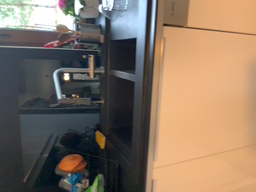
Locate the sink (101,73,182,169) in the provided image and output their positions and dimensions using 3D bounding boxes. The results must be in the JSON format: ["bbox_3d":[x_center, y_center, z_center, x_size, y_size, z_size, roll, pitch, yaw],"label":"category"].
[{"bbox_3d":[0.040,0.090,1.140,0.410,0.240,0.380,26,116,61],"label":"sink"}]

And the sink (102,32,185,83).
[{"bbox_3d":[0.050,-0.200,1.080,0.410,0.240,0.200,26,116,61],"label":"sink"}]
